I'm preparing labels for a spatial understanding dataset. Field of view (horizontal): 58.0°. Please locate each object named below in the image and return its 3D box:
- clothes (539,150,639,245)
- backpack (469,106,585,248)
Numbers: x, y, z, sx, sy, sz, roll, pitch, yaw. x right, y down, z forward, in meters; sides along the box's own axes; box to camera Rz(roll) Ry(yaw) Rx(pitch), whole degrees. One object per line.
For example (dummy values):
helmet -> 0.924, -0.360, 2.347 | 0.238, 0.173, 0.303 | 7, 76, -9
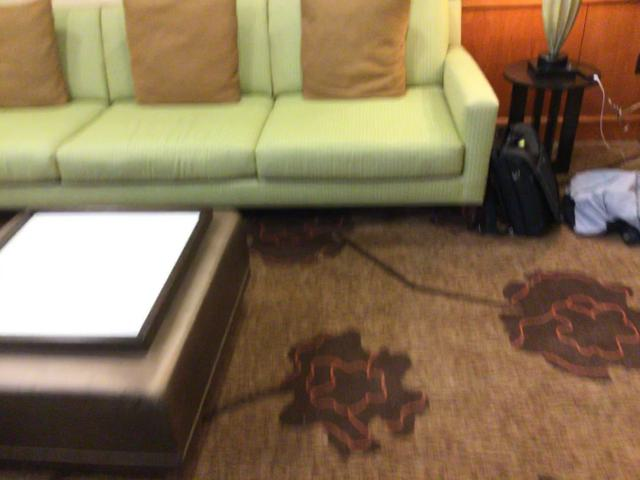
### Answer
clothes -> 1.340, -0.200, 2.570 | 0.570, 0.230, 0.520 | 2, 28, 8
backpack -> 0.900, -0.280, 2.550 | 0.340, 0.440, 0.360 | -16, 24, 17
